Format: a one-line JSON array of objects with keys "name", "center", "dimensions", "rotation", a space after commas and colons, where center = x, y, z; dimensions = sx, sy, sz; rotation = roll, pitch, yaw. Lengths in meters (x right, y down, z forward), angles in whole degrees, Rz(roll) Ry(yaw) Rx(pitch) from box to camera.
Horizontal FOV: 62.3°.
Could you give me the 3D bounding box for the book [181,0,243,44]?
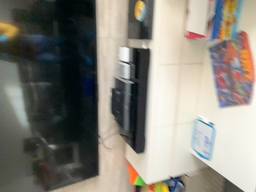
[{"name": "book", "center": [0.490, -0.500, 1.260], "dimensions": [0.280, 0.180, 0.360], "rotation": [-150, 58, -61]}]
